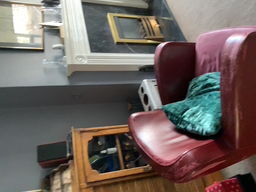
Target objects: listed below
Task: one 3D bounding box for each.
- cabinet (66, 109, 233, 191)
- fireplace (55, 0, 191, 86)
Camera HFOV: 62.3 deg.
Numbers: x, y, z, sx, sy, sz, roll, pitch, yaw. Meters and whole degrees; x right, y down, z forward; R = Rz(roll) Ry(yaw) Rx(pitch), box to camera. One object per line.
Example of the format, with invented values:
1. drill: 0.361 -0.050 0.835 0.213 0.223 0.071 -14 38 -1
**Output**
1. cabinet: 0.140 0.650 1.790 0.430 1.200 0.910 116 145 -52
2. fireplace: -0.180 -0.880 2.470 0.550 1.200 1.450 116 145 -52
